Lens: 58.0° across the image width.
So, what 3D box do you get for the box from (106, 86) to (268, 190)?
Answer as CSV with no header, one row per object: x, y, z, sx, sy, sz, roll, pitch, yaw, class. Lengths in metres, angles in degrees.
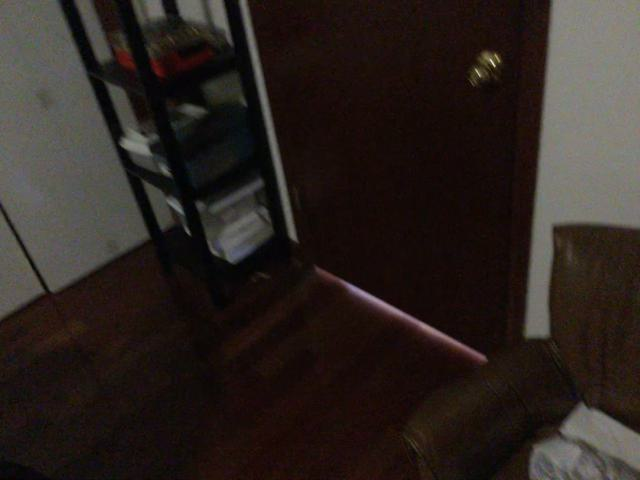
-0.460,-0.370,2.000,0.360,0.140,0.410,-33,43,-32,box

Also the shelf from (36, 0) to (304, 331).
-0.500,-0.610,1.800,0.450,1.790,0.540,-33,43,-32,shelf
